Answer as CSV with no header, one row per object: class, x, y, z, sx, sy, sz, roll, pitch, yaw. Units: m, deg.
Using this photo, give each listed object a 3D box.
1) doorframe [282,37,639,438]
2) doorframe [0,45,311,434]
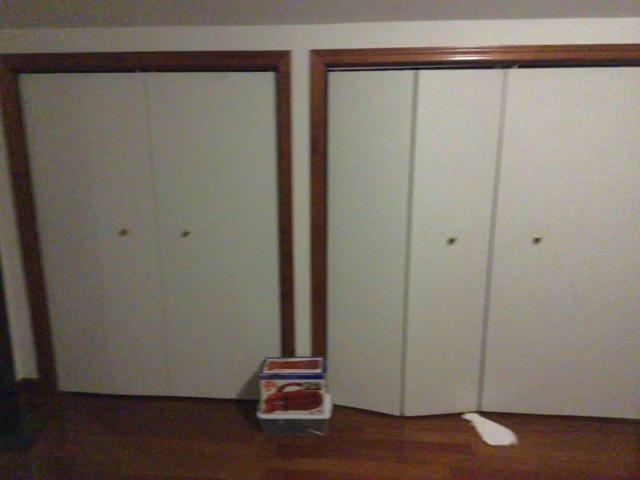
doorframe,0.640,0.020,2.440,1.540,1.600,0.160,1,15,11
doorframe,-0.750,0.020,2.660,1.360,1.690,0.140,5,17,10
